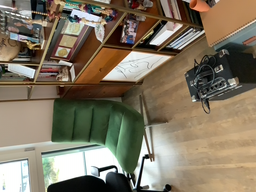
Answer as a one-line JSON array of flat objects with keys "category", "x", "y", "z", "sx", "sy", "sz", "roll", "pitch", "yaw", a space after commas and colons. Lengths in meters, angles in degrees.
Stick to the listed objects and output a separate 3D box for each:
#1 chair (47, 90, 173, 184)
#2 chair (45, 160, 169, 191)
[{"category": "chair", "x": -0.220, "y": 0.300, "z": 2.110, "sx": 0.800, "sy": 0.940, "sz": 0.500, "roll": 31, "pitch": 117, "yaw": 54}, {"category": "chair", "x": -0.190, "y": 1.030, "z": 2.030, "sx": 0.630, "sy": 1.010, "sz": 0.620, "roll": -23, "pitch": 71, "yaw": 57}]
